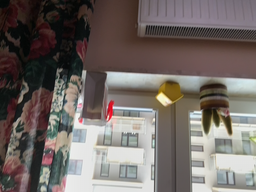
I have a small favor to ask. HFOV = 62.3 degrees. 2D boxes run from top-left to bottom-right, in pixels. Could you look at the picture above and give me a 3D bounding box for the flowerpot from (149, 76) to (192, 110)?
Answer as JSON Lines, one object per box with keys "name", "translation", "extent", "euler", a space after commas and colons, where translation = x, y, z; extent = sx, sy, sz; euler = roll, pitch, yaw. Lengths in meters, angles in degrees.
{"name": "flowerpot", "translation": [0.220, -0.010, 1.130], "extent": [0.190, 0.120, 0.150], "euler": [6, 162, -4]}
